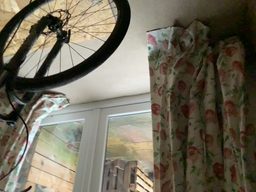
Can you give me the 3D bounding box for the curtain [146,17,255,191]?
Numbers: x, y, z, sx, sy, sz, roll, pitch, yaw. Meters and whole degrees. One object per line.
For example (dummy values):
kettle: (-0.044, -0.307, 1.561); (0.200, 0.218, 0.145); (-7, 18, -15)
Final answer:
curtain: (0.400, 0.790, 0.720); (0.590, 2.740, 0.290); (-9, 145, 17)
